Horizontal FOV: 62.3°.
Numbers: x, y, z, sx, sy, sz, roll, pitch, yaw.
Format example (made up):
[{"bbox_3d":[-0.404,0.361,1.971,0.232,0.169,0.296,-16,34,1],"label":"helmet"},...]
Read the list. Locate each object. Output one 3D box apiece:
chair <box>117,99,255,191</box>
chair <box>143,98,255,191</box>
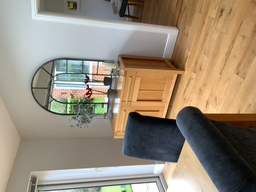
[{"bbox_3d":[0.540,0.420,1.760,0.640,1.110,0.520,-117,32,-59],"label":"chair"},{"bbox_3d":[0.730,0.420,1.080,0.470,1.120,0.640,-115,31,-57],"label":"chair"}]
